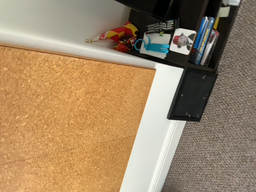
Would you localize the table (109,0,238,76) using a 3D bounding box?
[{"bbox_3d":[0.300,-0.620,1.090,0.450,0.390,0.920,26,107,38],"label":"table"}]
